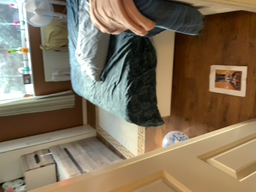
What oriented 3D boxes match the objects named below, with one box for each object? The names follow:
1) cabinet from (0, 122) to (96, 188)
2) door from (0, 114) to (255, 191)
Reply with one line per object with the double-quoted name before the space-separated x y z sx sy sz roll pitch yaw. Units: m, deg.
"cabinet" -1.490 0.970 3.650 0.450 1.820 0.600 25 118 54
"door" 0.160 0.320 0.620 0.750 2.050 0.050 15 109 57
